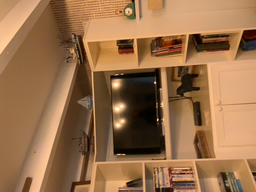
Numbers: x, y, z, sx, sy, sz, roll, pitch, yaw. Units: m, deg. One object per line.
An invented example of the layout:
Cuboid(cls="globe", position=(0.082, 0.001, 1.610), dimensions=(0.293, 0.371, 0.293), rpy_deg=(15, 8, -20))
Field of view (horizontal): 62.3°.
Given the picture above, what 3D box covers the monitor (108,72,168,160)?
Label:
Cuboid(cls="monitor", position=(0.110, 0.200, 2.320), dimensions=(0.060, 0.570, 0.890), rpy_deg=(31, -115, -79))
